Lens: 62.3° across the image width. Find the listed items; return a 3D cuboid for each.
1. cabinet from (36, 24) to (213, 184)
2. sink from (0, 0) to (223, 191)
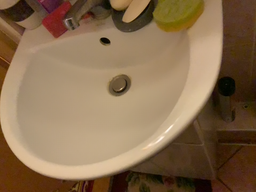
[{"bbox_3d":[0.090,0.120,0.870,0.430,0.700,0.320,-4,61,24],"label":"cabinet"},{"bbox_3d":[-0.070,-0.030,0.510,0.520,0.130,0.420,-4,61,24],"label":"sink"}]
